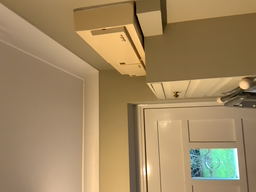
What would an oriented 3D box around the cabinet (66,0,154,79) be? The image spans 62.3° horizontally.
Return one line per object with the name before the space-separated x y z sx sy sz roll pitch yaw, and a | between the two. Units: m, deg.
cabinet | -0.020 -0.210 1.040 0.730 0.230 0.090 30 -123 -76
